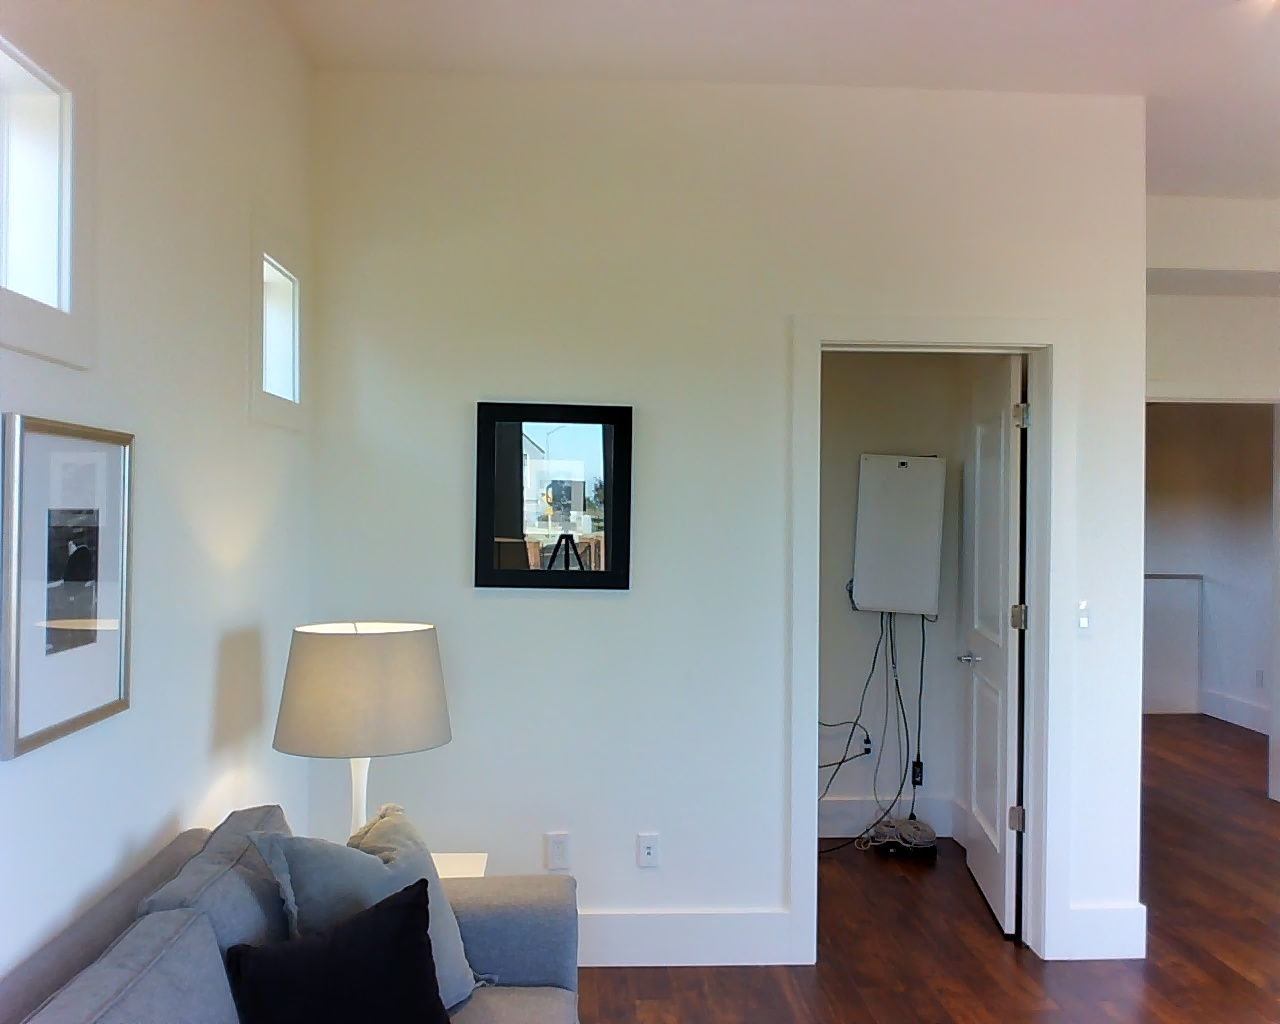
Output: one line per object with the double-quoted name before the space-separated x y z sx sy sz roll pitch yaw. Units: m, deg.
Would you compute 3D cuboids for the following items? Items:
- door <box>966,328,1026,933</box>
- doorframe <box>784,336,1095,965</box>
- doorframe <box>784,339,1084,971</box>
"door" 1.450 0.440 4.410 0.060 2.250 0.840 1 0 8
"doorframe" 1.040 0.480 3.740 1.050 2.150 0.080 1 0 -3
"doorframe" 1.030 0.490 3.830 0.960 2.150 0.310 1 0 -3
